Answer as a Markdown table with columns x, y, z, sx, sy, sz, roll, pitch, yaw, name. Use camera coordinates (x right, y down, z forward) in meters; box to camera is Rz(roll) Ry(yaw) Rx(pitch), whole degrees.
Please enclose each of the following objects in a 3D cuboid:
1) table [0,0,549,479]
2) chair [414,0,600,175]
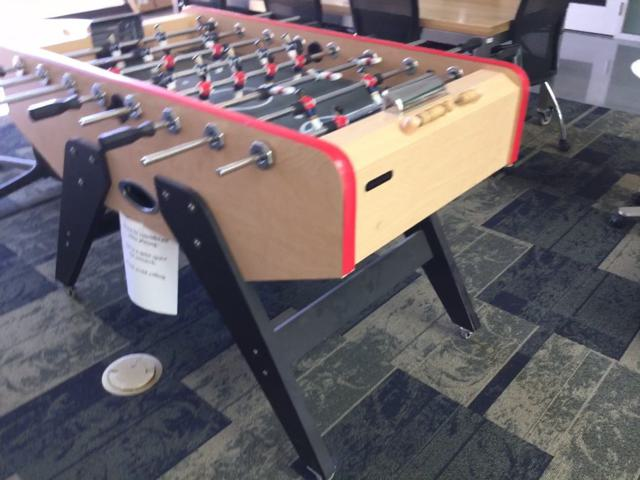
| x | y | z | sx | sy | sz | roll | pitch | yaw | name |
| --- | --- | --- | --- | --- | --- | --- | --- | --- | --- |
| -0.260 | -0.180 | 1.850 | 1.480 | 0.920 | 0.860 | 26 | 43 | 33 | table |
| 0.970 | -0.990 | 3.050 | 0.640 | 0.990 | 0.590 | 28 | 44 | 35 | chair |
